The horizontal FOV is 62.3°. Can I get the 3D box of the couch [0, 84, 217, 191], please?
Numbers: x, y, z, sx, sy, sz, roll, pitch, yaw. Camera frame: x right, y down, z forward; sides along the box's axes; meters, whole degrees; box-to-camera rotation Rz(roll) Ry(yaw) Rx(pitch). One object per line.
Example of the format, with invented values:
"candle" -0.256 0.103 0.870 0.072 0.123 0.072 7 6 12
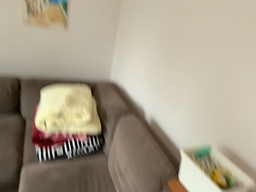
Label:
"couch" -0.220 0.550 1.330 0.940 1.020 0.720 1 24 -25
